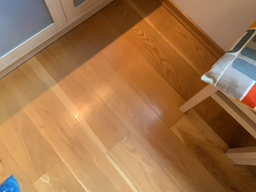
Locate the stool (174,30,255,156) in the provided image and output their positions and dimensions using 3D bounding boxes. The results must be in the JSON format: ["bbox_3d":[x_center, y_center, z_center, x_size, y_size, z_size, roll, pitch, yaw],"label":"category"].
[{"bbox_3d":[0.500,0.000,0.910,0.360,0.440,0.340,-42,81,-13],"label":"stool"}]
